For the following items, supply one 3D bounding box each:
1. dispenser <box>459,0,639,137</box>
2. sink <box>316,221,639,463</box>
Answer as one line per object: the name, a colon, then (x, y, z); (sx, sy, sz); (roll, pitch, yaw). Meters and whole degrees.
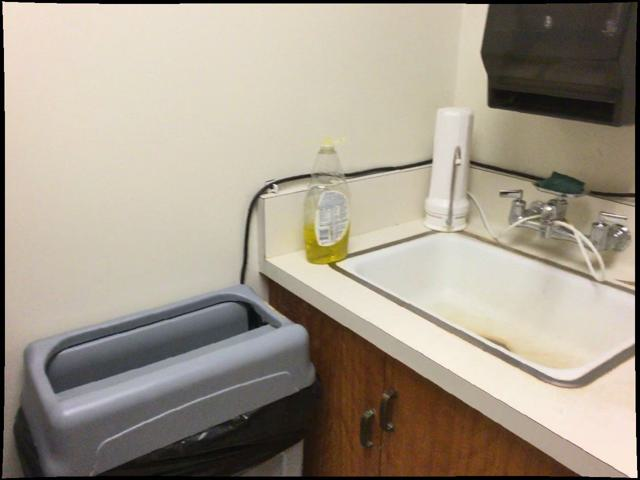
dispenser: (0.519, -0.441, 1.160); (0.260, 0.391, 0.340); (-13, 25, -34)
sink: (0.359, 0.160, 1.310); (0.429, 0.170, 0.660); (-13, 25, -34)
